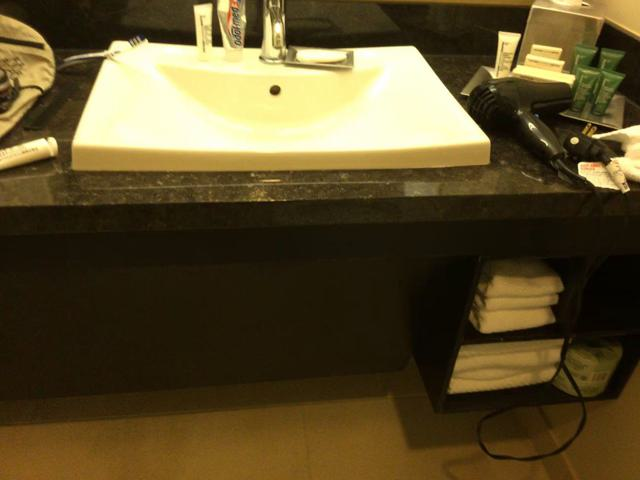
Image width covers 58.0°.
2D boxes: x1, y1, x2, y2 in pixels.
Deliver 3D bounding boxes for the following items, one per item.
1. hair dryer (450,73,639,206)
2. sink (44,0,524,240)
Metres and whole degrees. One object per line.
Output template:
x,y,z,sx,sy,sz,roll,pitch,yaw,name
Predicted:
0.340,-0.160,0.860,0.190,0.080,0.280,-2,35,-10,hair dryer
-0.070,-0.230,0.990,0.620,0.210,0.470,-2,35,-10,sink
